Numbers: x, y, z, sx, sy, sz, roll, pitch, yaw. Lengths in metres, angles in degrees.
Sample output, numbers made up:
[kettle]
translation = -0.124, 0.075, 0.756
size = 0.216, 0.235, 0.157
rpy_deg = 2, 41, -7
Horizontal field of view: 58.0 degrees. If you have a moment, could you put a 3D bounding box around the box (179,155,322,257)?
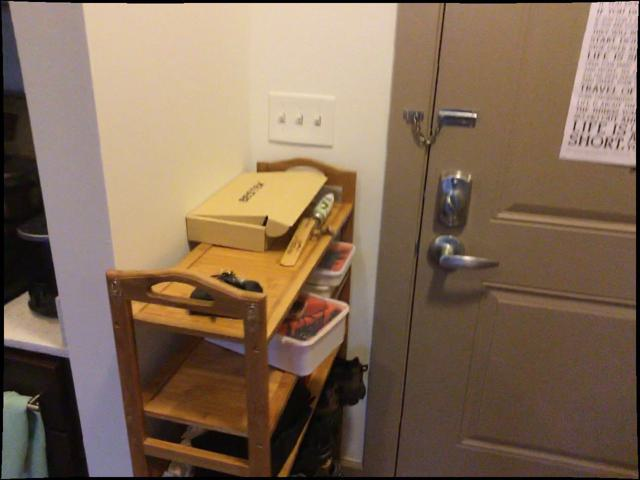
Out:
[box]
translation = -0.140, -0.090, 1.310
size = 0.229, 0.110, 0.340
rpy_deg = 4, 23, 9
